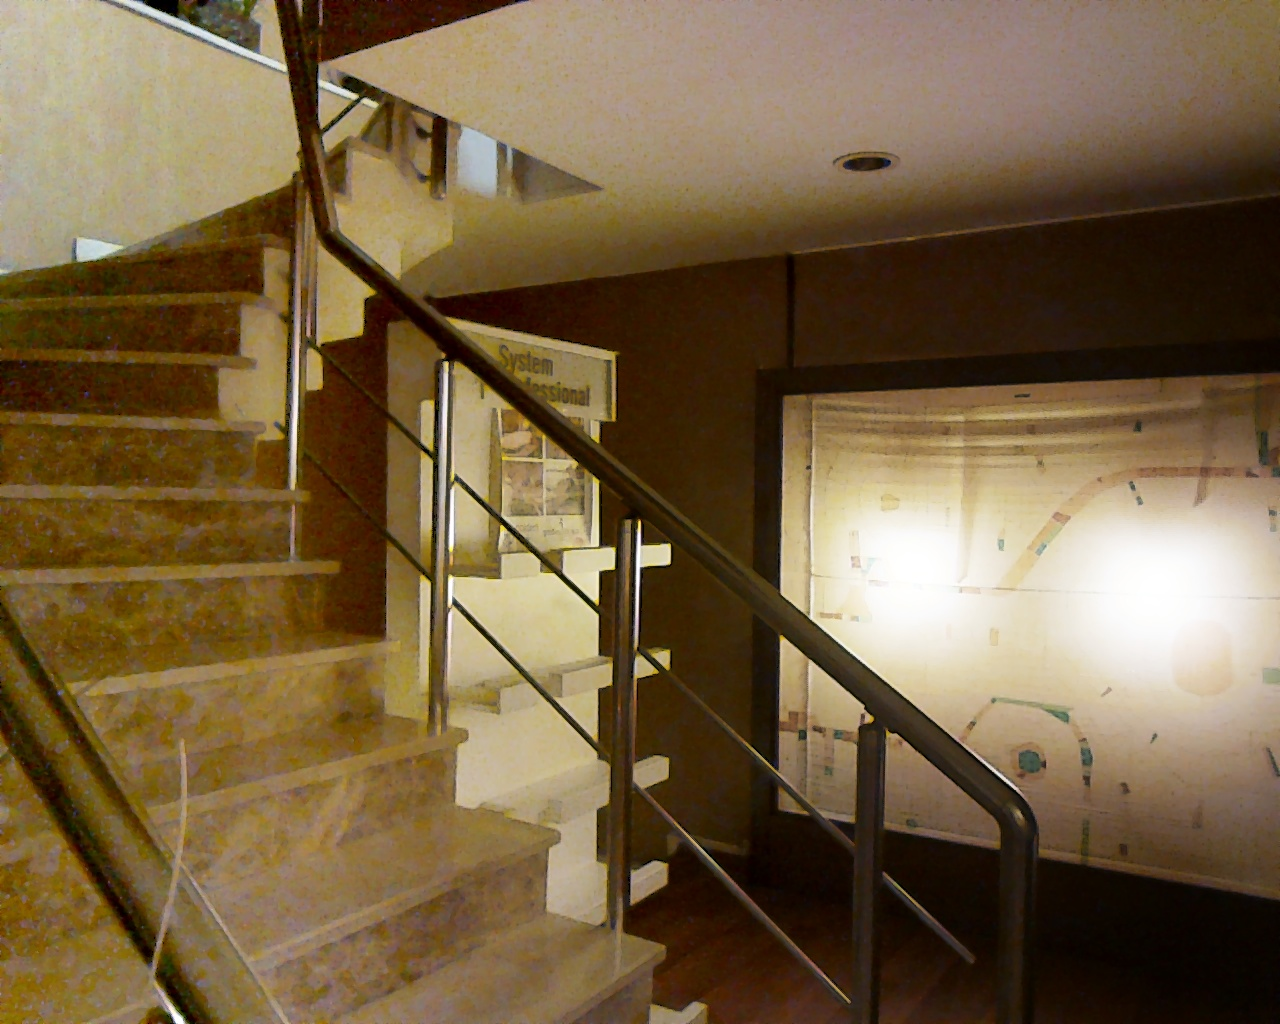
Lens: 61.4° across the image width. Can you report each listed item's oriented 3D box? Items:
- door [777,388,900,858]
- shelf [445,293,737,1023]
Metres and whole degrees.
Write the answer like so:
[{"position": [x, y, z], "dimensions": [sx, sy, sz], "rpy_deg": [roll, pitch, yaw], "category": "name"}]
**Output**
[{"position": [0.780, 0.420, 4.260], "dimensions": [0.480, 1.790, 0.060], "rpy_deg": [0, 0, 34], "category": "door"}, {"position": [-0.110, 0.530, 2.990], "dimensions": [0.430, 2.100, 0.750], "rpy_deg": [0, 0, 34], "category": "shelf"}]
